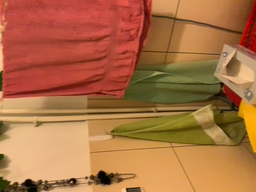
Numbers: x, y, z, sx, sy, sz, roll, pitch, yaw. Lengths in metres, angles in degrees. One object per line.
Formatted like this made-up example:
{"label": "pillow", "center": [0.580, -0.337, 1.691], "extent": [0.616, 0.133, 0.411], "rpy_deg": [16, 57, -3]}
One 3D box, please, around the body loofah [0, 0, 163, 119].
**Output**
{"label": "body loofah", "center": [-0.190, -0.180, 0.760], "extent": [0.140, 0.540, 0.540], "rpy_deg": [-111, 26, -55]}
